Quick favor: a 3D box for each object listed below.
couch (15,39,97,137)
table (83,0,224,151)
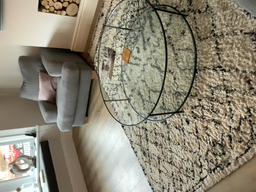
[{"bbox_3d":[-1.150,-0.170,3.190,1.040,0.860,1.010,44,128,46],"label":"couch"},{"bbox_3d":[0.050,-0.270,1.810,1.020,0.340,1.020,62,139,33],"label":"table"}]
